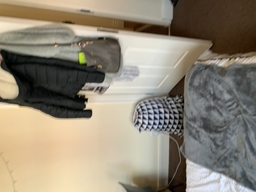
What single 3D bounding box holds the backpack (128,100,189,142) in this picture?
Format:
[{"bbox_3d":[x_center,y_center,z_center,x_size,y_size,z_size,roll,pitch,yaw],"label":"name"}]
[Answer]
[{"bbox_3d":[0.320,0.240,2.280,0.370,0.520,0.350,-167,77,-64],"label":"backpack"}]
